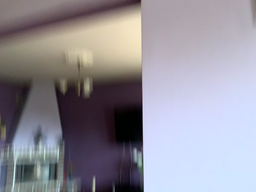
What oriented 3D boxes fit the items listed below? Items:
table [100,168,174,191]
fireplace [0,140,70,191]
[{"bbox_3d":[0.160,1.710,3.880,1.250,0.580,0.520,-3,-8,23],"label":"table"},{"bbox_3d":[-2.030,1.500,4.310,0.940,1.080,1.410,-3,-8,22],"label":"fireplace"}]
